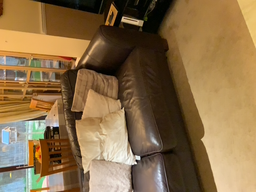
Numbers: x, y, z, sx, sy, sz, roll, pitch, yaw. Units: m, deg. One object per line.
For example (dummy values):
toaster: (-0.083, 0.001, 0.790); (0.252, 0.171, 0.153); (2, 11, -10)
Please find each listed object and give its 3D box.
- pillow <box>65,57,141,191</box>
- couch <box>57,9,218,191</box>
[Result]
pillow: (-0.260, 0.370, 1.830); (0.550, 0.310, 1.280); (-40, 57, 53)
couch: (0.000, 0.550, 1.820); (0.990, 0.810, 2.160); (-36, 60, 54)
